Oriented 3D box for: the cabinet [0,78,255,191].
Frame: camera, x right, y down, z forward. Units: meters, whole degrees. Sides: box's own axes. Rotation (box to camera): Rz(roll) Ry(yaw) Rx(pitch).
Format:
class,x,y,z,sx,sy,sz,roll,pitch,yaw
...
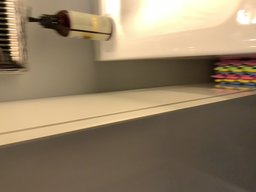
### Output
class,x,y,z,sx,sy,sz,roll,pitch,yaw
cabinet,-0.250,0.220,0.370,0.310,1.910,0.420,9,102,51
